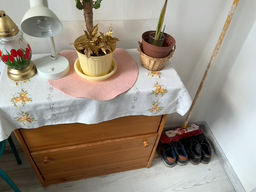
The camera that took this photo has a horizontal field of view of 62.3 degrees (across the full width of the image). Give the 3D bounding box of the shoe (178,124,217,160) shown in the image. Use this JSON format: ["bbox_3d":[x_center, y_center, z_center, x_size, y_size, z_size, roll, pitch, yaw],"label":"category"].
[{"bbox_3d":[0.500,0.330,1.550,0.180,0.080,0.240,-2,46,-9],"label":"shoe"}]

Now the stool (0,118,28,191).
[{"bbox_3d":[-0.760,0.380,1.110,0.290,0.480,0.270,-2,46,-9],"label":"stool"}]

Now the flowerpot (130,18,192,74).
[{"bbox_3d":[0.130,-0.230,0.940,0.180,0.120,0.260,-5,46,-11],"label":"flowerpot"}]

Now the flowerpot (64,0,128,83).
[{"bbox_3d":[-0.120,-0.380,0.750,0.200,0.670,0.240,-4,46,-11],"label":"flowerpot"}]
